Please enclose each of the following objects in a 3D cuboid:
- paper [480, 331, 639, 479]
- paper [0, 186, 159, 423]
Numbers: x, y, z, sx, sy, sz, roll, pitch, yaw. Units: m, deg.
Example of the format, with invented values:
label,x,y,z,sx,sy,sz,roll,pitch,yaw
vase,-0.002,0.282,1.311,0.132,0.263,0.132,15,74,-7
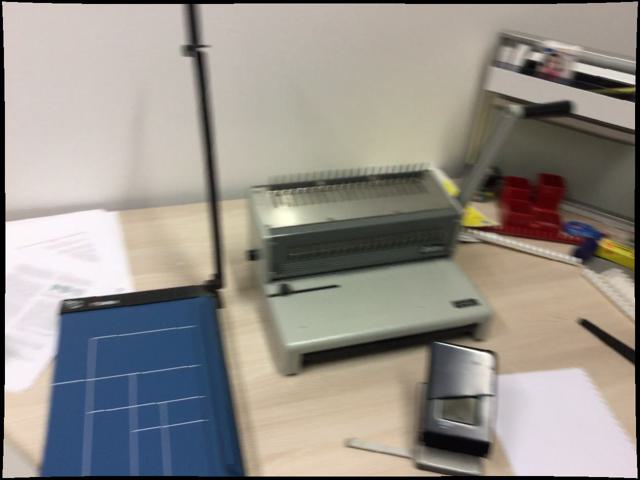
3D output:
label,x,y,z,sx,sy,sz,roll,pitch,yaw
paper,0.460,0.300,0.960,0.250,0.030,0.310,-10,42,-19
paper,-0.519,0.090,1.070,0.350,0.060,0.510,-10,42,-19
